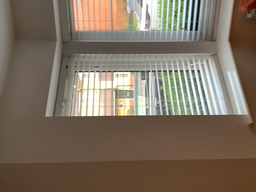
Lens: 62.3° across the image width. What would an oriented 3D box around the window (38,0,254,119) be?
[{"bbox_3d":[0.110,-0.990,1.470,0.600,1.320,2.220,-97,7,-71],"label":"window"}]
